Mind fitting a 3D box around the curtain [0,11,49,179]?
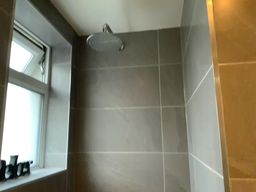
[{"bbox_3d":[-0.690,0.010,1.170,0.160,0.820,0.610,-2,-10,8],"label":"curtain"}]
